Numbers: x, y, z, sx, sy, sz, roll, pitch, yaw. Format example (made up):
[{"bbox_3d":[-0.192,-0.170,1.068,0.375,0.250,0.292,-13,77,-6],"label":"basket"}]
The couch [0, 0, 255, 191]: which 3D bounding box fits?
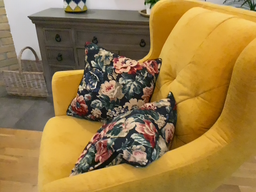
[{"bbox_3d":[0.070,0.130,1.050,0.990,1.050,0.850,-6,32,-13],"label":"couch"}]
